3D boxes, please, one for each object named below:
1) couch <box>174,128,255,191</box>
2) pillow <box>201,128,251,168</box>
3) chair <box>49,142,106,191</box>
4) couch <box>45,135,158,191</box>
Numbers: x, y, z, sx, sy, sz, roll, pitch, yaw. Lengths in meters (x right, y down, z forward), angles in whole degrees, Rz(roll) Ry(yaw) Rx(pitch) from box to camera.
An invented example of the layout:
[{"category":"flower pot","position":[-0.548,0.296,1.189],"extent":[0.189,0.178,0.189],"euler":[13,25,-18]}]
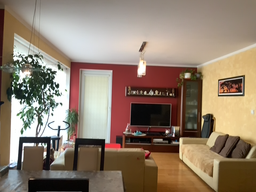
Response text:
[{"category":"couch","position":[1.690,1.180,4.370],"extent":[0.930,0.750,1.880],"euler":[2,0,-4]},{"category":"pillow","position":[1.870,0.980,4.170],"extent":[0.250,0.480,0.990],"euler":[32,-2,-3]},{"category":"chair","position":[-0.460,0.980,2.000],"extent":[0.440,0.970,0.470],"euler":[2,0,-4]},{"category":"couch","position":[-0.370,1.100,3.330],"extent":[1.490,0.750,0.960],"euler":[2,0,-2]}]
